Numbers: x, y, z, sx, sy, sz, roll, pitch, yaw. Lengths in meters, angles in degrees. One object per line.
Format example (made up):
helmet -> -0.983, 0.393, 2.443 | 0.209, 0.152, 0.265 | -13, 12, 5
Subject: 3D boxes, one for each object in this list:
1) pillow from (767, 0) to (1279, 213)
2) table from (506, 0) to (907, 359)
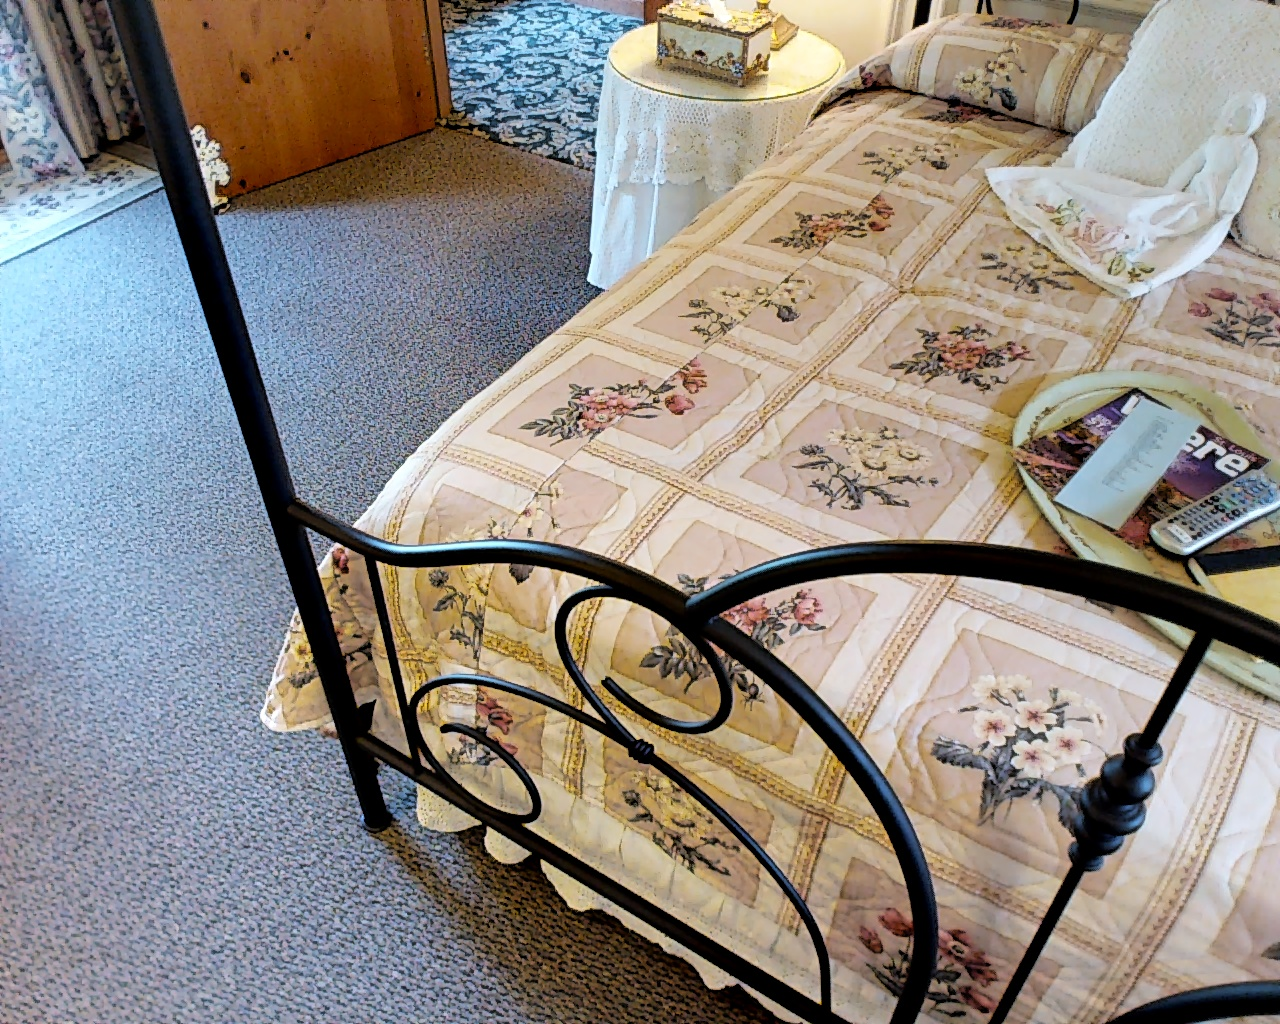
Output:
pillow -> 0.850, -0.970, 2.330 | 1.000, 0.210, 0.530 | 22, 47, 23
table -> 0.180, -0.950, 2.920 | 0.750, 0.600, 0.700 | 26, 49, 26
